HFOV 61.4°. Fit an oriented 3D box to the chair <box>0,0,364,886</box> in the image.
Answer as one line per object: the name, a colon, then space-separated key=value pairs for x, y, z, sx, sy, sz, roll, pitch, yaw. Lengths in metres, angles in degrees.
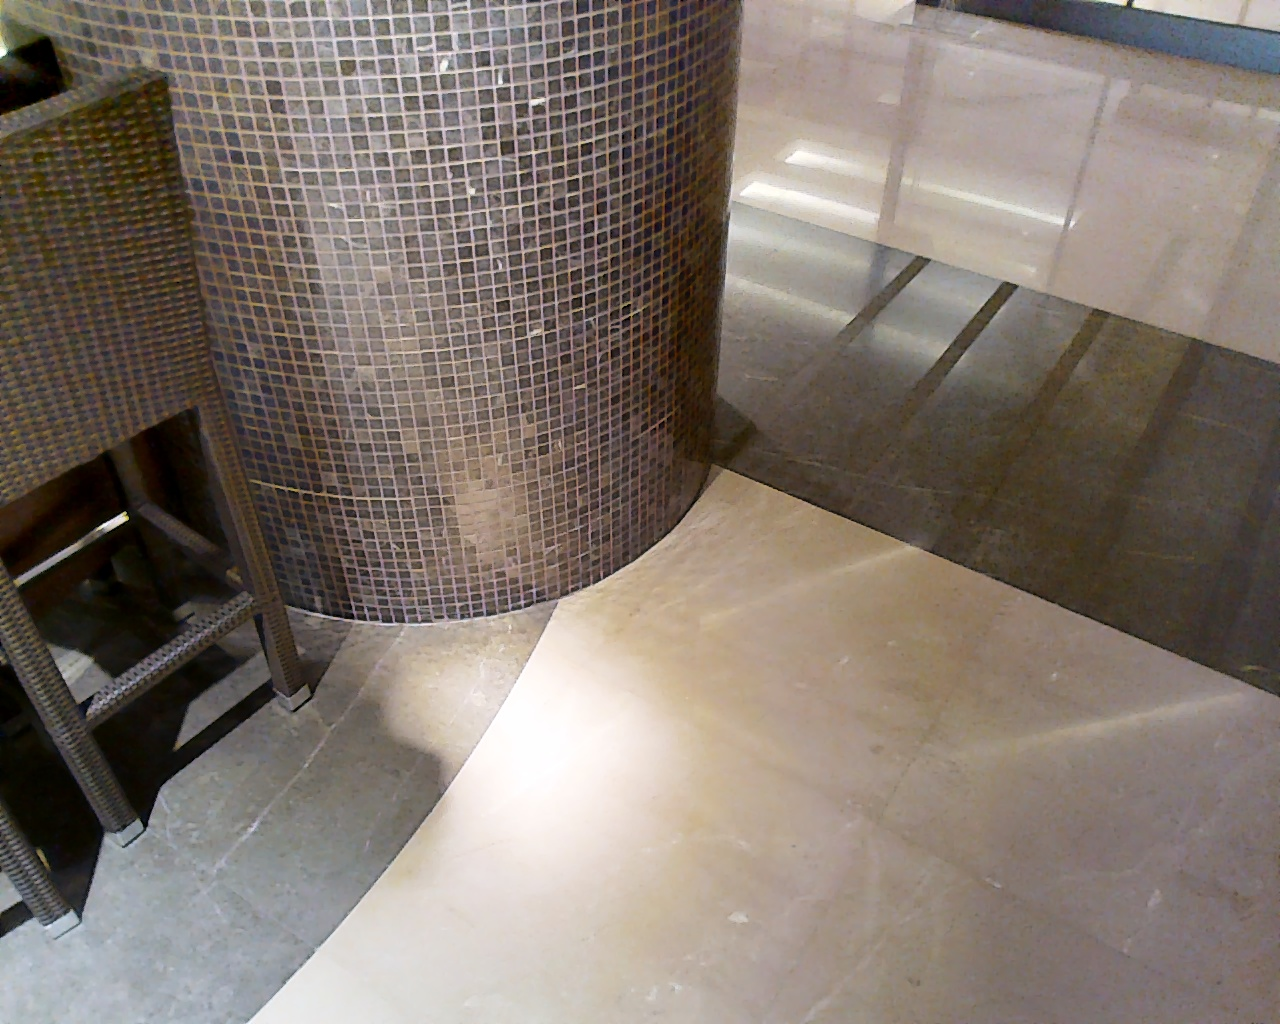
chair: x=-0.880 y=-0.080 z=1.610 sx=0.520 sy=1.170 sz=0.520 roll=30 pitch=50 yaw=29
